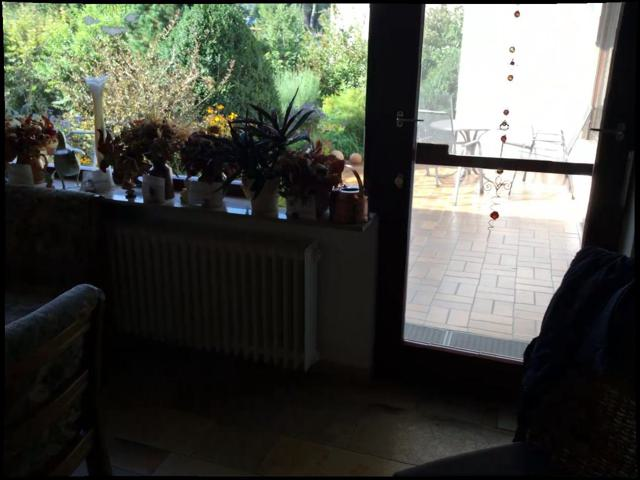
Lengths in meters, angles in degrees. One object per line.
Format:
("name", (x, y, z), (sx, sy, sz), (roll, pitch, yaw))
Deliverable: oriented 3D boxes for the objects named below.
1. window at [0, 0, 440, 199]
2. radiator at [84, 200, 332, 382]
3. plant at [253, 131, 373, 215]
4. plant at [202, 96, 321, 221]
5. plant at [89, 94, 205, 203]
("window", (-0.899, -0.921, 2.550), (2.778, 1.251, 0.290), (5, 22, 17))
("radiator", (-0.519, 0.220, 2.750), (1.129, 0.701, 0.230), (5, 22, 17))
("plant", (-0.020, -0.290, 2.420), (0.430, 0.270, 0.270), (5, 22, 17))
("plant", (-0.230, -0.350, 2.410), (0.400, 0.450, 0.260), (5, 22, 17))
("plant", (-0.759, -0.420, 2.590), (0.340, 0.420, 0.300), (5, 22, 17))
